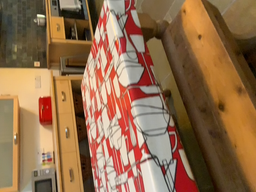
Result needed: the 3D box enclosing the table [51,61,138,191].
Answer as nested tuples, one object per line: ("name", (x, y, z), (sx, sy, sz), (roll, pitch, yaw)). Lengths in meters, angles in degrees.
("table", (-0.570, 0.440, 3.000), (0.690, 0.840, 1.770), (126, 135, -56))
